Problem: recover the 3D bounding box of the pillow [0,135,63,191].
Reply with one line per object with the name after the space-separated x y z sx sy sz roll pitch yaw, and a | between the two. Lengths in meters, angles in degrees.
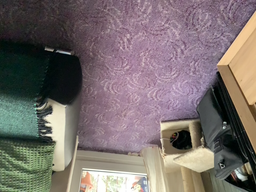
-0.650 0.440 1.170 0.480 0.400 0.150 9 179 -7 | pillow
